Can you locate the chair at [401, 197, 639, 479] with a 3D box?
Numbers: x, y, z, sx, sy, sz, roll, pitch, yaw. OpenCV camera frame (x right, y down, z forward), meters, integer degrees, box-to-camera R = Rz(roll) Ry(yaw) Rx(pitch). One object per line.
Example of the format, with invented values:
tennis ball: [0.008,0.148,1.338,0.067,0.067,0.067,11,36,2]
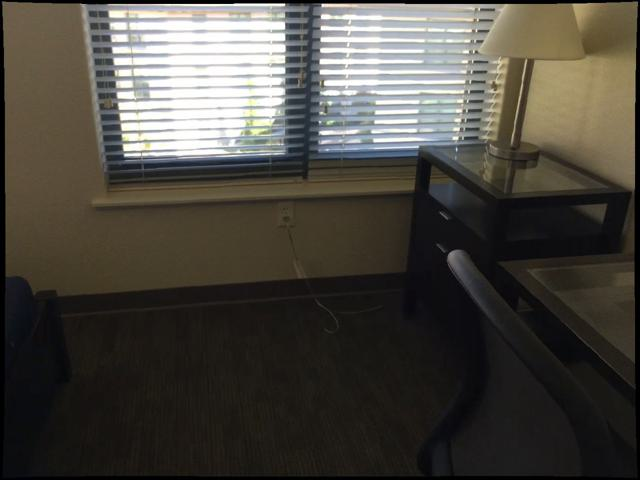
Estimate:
chair: [0.400,0.470,1.000,0.320,0.921,0.560,-6,27,-11]
